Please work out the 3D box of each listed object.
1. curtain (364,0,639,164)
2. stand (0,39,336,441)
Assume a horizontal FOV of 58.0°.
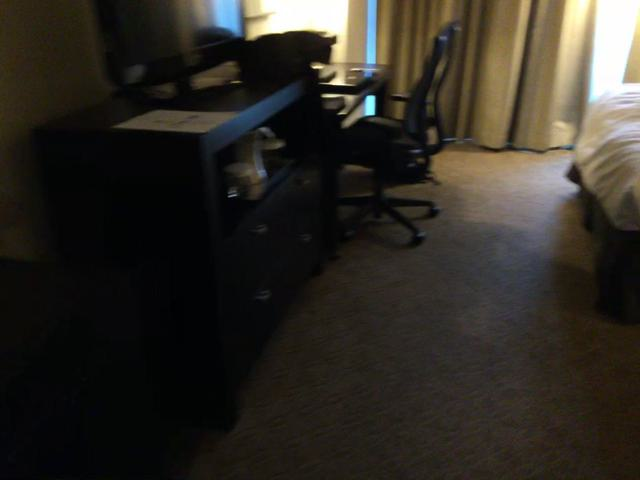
[{"bbox_3d":[2.080,-1.460,3.910,3.530,1.790,0.520,6,26,18],"label":"curtain"},{"bbox_3d":[-0.410,-0.120,2.150,0.600,1.070,1.130,6,26,18],"label":"stand"}]
